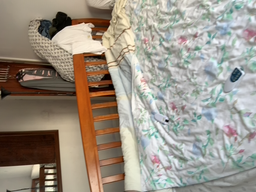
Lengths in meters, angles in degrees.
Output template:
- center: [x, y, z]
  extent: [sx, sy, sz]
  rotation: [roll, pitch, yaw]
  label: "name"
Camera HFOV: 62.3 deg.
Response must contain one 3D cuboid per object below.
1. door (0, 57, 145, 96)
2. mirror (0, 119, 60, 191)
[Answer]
- center: [-0.770, -0.250, 2.760]
  extent: [0.740, 1.900, 0.040]
  rotation: [-120, 39, -49]
  label: "door"
- center: [-1.470, 1.000, 2.830]
  extent: [0.090, 1.030, 1.500]
  rotation: [121, 142, -48]
  label: "mirror"
